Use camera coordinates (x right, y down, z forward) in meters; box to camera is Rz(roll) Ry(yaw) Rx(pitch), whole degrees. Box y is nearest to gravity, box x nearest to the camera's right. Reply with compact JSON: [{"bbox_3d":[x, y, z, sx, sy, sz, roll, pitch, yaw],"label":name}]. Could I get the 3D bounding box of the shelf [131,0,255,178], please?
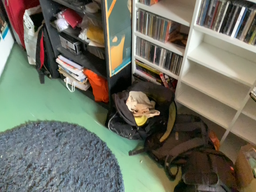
[{"bbox_3d":[0.470,-0.100,1.100,1.010,0.890,0.190,33,54,26],"label":"shelf"}]
